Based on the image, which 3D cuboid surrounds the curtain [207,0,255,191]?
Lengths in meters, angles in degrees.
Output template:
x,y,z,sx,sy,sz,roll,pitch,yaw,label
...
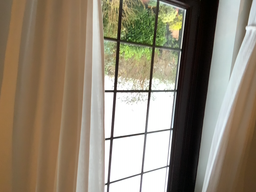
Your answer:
x,y,z,sx,sy,sz,roll,pitch,yaw,label
0.740,-0.150,1.280,0.260,2.330,0.190,-3,-169,-39,curtain
